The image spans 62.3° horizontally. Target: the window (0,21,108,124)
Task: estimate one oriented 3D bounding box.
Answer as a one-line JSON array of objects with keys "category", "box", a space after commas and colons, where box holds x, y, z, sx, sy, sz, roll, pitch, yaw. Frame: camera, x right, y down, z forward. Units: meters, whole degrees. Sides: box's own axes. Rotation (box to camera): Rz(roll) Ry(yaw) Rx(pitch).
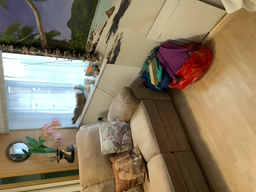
[{"category": "window", "box": [-1.220, -0.130, 2.500, 1.590, 1.530, 0.150, -57, 41, 46]}]
